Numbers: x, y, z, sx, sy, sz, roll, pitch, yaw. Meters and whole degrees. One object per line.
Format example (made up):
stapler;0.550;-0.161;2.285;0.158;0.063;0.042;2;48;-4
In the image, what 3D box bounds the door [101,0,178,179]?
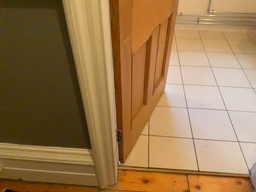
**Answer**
door;0.110;-0.520;0.830;0.040;2.040;0.780;17;44;19
